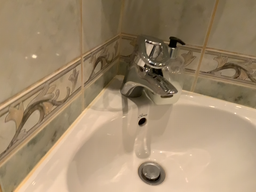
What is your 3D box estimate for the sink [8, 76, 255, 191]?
[{"bbox_3d":[0.090,0.170,0.410,0.400,0.200,0.410,14,31,13],"label":"sink"}]
